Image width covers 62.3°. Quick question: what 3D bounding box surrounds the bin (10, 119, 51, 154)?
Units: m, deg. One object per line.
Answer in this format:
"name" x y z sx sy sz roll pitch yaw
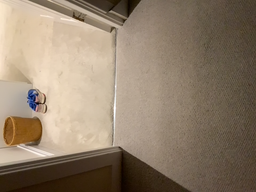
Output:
"bin" -0.850 0.340 1.850 0.280 0.230 0.270 -8 81 41
